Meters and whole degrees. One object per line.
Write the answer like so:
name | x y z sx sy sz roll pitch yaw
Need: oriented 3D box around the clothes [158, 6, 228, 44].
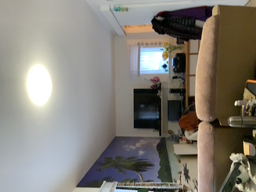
clothes | 1.030 -1.170 3.620 0.790 1.010 0.430 -45 -45 -80
